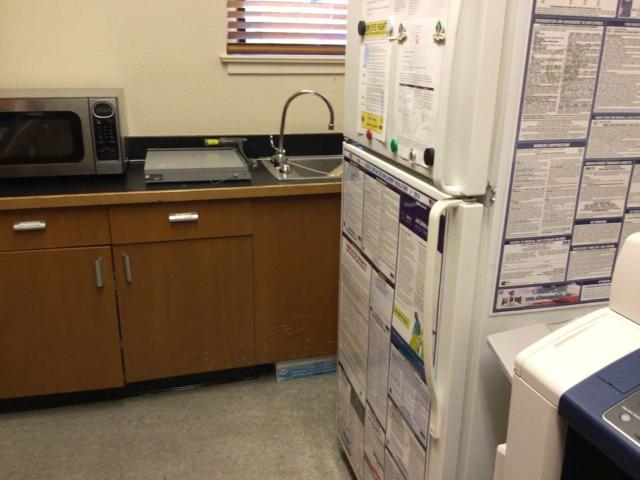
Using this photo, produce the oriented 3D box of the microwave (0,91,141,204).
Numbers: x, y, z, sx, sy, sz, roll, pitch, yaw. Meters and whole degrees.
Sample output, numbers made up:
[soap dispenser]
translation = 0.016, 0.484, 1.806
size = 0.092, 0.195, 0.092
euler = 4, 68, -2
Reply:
[microwave]
translation = -1.020, -0.380, 2.240
size = 0.590, 0.340, 0.530
euler = -5, 19, -16
